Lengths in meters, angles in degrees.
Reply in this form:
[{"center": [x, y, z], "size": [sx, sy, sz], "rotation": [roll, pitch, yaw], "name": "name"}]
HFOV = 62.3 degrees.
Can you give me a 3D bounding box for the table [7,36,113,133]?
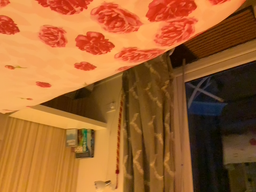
[{"center": [-0.620, -0.050, 2.150], "size": [0.430, 0.640, 0.830], "rotation": [-16, 151, 38], "name": "table"}]
